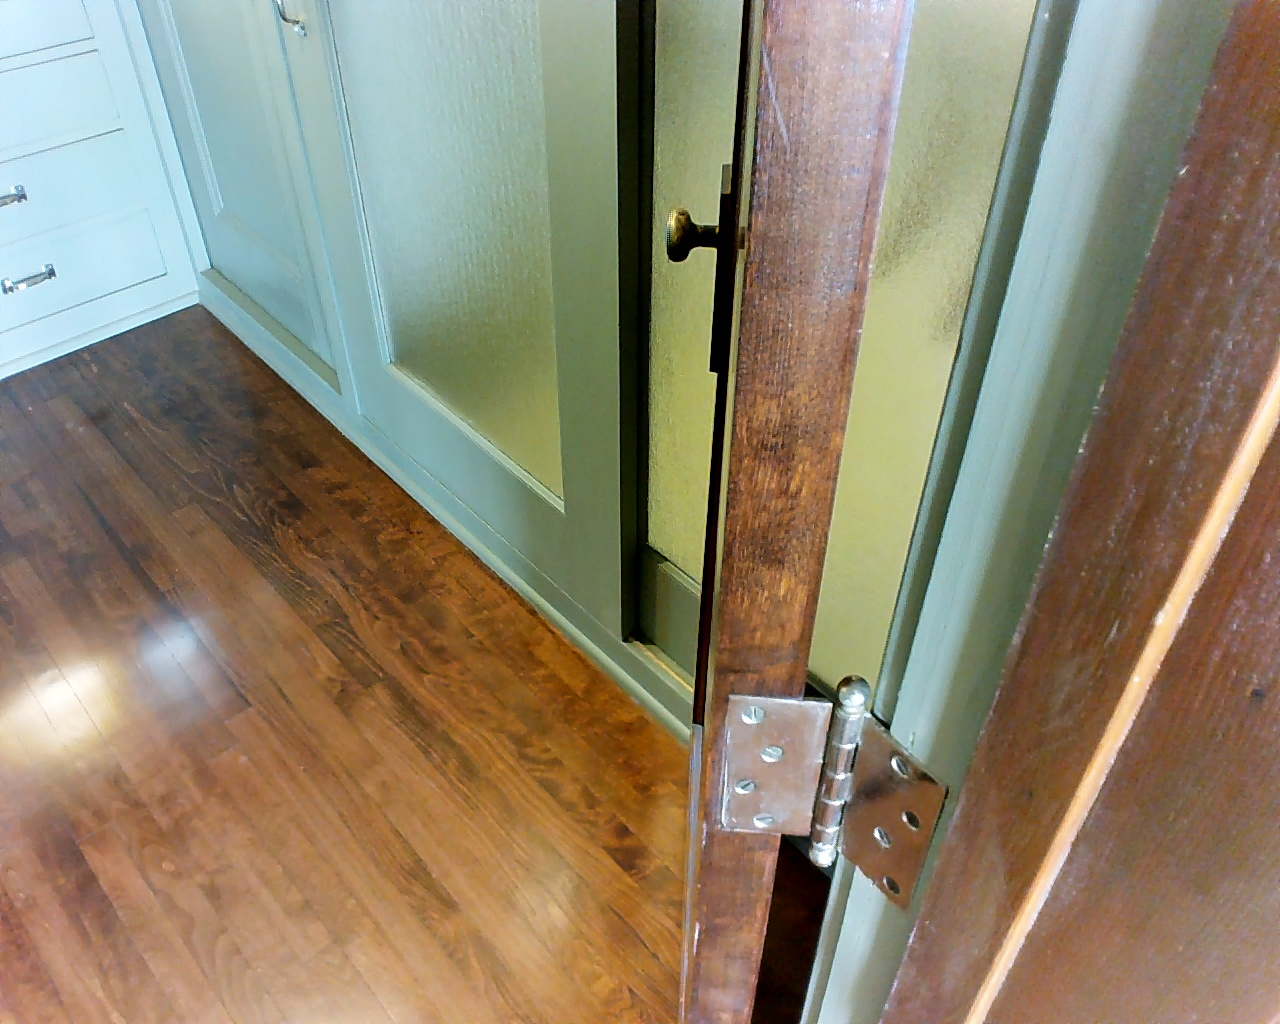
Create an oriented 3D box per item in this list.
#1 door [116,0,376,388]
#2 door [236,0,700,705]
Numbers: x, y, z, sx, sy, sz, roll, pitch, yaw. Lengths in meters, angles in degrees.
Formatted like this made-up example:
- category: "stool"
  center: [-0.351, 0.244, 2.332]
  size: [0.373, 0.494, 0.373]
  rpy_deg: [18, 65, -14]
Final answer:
- category: "door"
  center: [-0.890, -1.200, 2.030]
  size: [0.100, 1.940, 0.700]
  rpy_deg: [-31, 51, -30]
- category: "door"
  center: [-0.310, -0.700, 1.560]
  size: [0.130, 2.100, 0.980]
  rpy_deg: [-31, 51, -30]
